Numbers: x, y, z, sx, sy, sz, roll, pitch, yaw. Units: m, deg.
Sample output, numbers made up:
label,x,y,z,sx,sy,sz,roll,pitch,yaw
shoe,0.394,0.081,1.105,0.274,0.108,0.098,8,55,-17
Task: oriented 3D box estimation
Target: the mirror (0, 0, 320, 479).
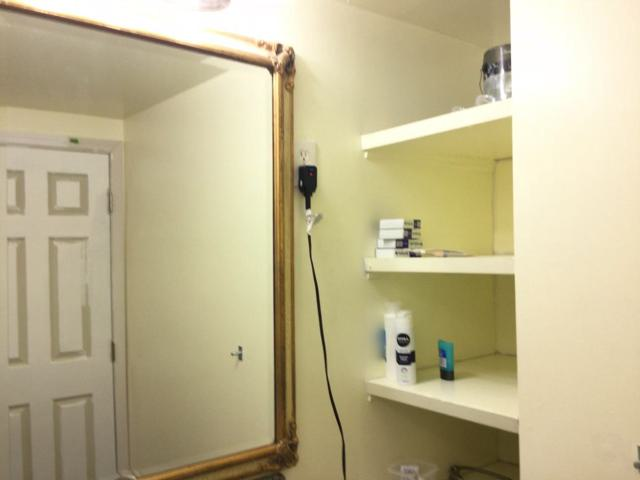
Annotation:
label,x,y,z,sx,sy,sz,roll,pitch,yaw
mirror,-0.350,0.030,1.240,0.790,1.080,0.110,2,-3,-38
